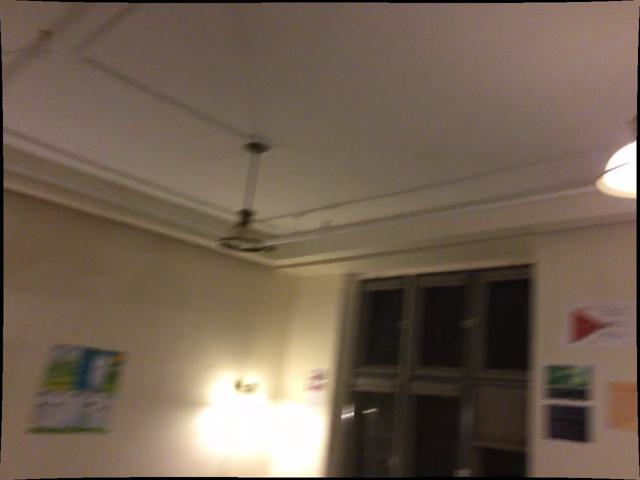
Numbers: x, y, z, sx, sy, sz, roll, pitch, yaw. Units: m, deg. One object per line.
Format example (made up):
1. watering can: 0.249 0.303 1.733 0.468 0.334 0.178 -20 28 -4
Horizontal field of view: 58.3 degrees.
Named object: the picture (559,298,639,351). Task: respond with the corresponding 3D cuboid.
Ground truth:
1. picture: 1.599 0.490 3.290 0.110 0.260 0.400 20 -23 -40
